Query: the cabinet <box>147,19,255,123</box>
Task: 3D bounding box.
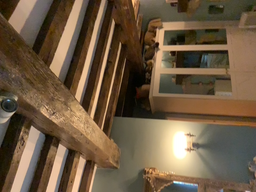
[{"bbox_3d":[1.650,-0.570,4.410,0.840,2.230,1.920,72,-155,-58],"label":"cabinet"}]
